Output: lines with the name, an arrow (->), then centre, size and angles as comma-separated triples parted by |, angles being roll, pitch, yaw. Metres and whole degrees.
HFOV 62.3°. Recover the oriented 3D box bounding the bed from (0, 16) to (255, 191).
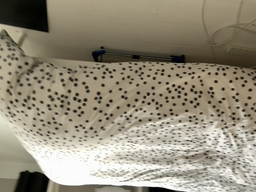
bed -> 0.190, 0.340, 1.900 | 2.230, 0.590, 1.780 | 3, 144, -4
